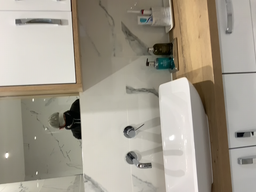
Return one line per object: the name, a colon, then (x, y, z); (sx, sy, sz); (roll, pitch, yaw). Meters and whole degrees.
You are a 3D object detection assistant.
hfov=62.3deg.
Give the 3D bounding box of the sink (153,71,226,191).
sink: (0.250, 0.220, 0.960); (0.400, 0.110, 0.600); (163, 103, -78)
